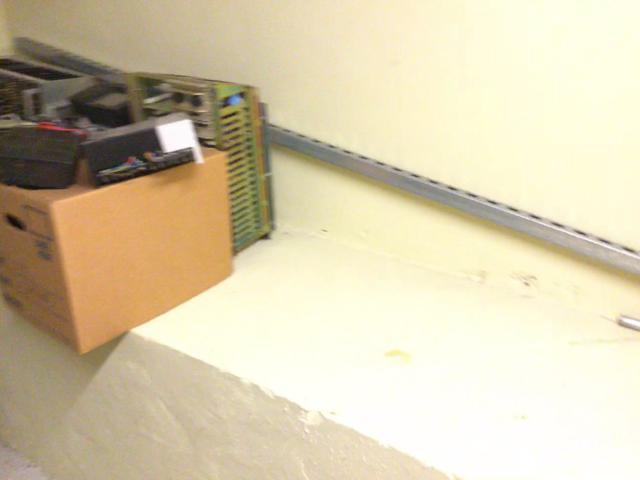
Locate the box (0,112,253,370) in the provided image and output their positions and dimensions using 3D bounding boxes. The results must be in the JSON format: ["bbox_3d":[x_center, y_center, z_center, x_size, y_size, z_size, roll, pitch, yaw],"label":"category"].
[{"bbox_3d":[-0.470,-0.050,1.330,0.380,0.380,0.530,16,25,29],"label":"box"}]
